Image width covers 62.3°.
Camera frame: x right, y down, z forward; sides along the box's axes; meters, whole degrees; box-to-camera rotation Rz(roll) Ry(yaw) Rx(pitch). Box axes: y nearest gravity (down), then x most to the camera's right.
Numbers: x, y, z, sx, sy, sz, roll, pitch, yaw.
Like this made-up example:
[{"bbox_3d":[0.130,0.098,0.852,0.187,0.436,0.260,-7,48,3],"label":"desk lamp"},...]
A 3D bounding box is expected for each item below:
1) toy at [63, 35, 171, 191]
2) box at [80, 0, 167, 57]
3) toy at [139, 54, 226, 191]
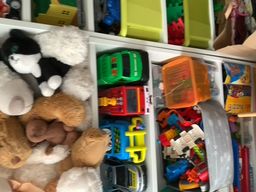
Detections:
[{"bbox_3d":[-0.050,0.210,0.830,0.280,0.310,0.780,-4,87,56],"label":"toy"},{"bbox_3d":[-0.030,-0.360,0.870,0.260,0.250,0.330,-4,87,56],"label":"box"},{"bbox_3d":[0.260,0.220,1.030,0.270,0.310,0.770,-1,89,56],"label":"toy"}]
